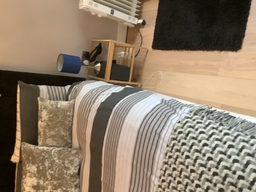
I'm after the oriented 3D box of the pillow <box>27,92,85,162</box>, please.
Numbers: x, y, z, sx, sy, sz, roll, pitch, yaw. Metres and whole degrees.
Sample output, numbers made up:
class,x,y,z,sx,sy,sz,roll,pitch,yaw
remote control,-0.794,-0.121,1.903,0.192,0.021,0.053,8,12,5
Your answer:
class,x,y,z,sx,sy,sz,roll,pitch,yaw
pillow,-0.530,0.230,1.630,0.150,0.290,0.430,6,123,28

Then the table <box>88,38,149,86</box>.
class,x,y,z,sx,sy,sz,roll,pitch,yaw
table,-0.100,-0.330,2.100,0.380,0.410,0.390,16,100,50

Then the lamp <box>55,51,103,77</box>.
class,x,y,z,sx,sy,sz,roll,pitch,yaw
lamp,-0.440,-0.290,1.920,0.230,0.340,0.180,15,100,50
